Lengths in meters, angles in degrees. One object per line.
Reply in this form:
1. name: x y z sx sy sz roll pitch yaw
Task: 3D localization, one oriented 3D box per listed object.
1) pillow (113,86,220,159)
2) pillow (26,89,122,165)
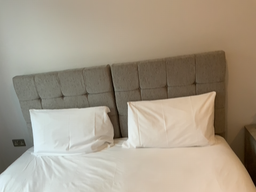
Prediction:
1. pillow: 0.300 0.220 1.820 0.790 0.450 0.220 9 18 2
2. pillow: -0.510 0.290 2.000 0.790 0.470 0.180 17 18 1
